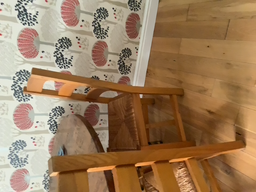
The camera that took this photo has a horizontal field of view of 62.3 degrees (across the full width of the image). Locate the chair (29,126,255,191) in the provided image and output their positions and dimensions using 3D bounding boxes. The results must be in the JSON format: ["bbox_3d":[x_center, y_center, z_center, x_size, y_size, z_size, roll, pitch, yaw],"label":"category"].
[{"bbox_3d":[0.160,0.500,0.980,0.580,1.040,0.450,-51,48,44],"label":"chair"}]

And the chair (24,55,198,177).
[{"bbox_3d":[-0.110,0.140,1.440,0.480,1.030,0.560,-23,70,56],"label":"chair"}]
